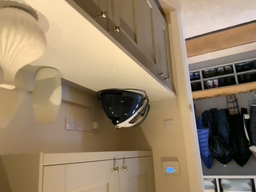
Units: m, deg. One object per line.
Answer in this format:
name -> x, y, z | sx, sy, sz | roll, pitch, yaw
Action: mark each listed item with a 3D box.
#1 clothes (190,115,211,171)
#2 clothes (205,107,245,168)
clothes -> 1.140, 0.730, 3.330 | 0.200, 0.820, 0.330 | -8, 164, 20
clothes -> 1.430, 0.620, 3.170 | 0.390, 0.850, 0.260 | -8, 164, 21
